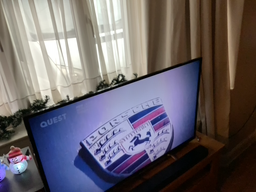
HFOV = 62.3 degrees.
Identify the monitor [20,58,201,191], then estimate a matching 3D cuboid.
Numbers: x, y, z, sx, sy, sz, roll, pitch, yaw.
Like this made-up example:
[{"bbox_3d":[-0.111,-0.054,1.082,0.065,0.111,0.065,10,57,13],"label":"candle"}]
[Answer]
[{"bbox_3d":[0.050,0.200,1.210,1.080,0.620,0.050,-21,29,-33],"label":"monitor"}]
